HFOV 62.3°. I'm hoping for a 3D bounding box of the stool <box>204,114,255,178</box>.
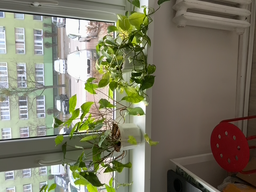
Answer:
[{"bbox_3d":[0.820,0.320,1.480,0.300,0.450,0.300,-163,73,-66],"label":"stool"}]
